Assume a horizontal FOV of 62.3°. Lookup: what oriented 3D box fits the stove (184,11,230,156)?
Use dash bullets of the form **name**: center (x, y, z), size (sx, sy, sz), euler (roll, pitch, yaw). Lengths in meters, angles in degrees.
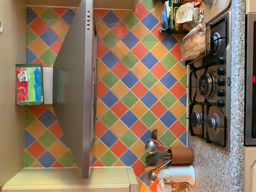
- **stove**: center (0.440, -0.060, 1.260), size (0.530, 0.020, 0.680), euler (-179, 90, -84)
